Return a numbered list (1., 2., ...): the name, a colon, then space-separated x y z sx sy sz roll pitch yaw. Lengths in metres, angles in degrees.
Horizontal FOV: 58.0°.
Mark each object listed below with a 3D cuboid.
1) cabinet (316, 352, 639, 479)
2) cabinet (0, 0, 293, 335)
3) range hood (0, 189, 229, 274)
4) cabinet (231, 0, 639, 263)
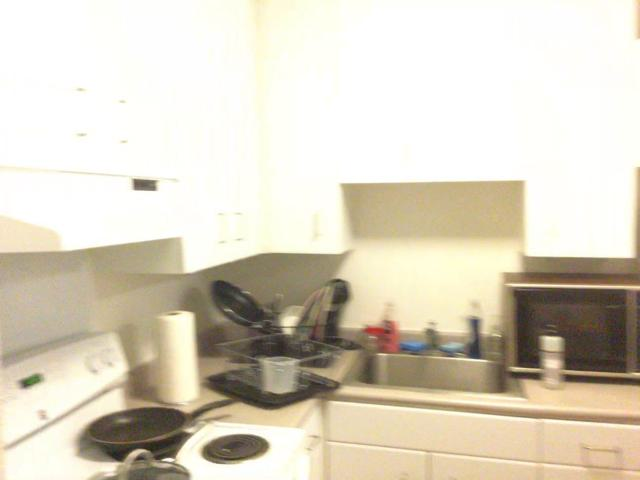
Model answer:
1. cabinet: 0.600 0.920 2.060 1.100 0.880 0.530 -1 3 16
2. cabinet: -0.550 -0.400 1.490 0.400 1.050 1.710 -1 3 16
3. range hood: -0.450 -0.030 1.330 0.180 0.140 0.730 -1 3 16
4. cabinet: 0.780 -0.460 2.050 2.140 1.040 0.470 -1 3 16
